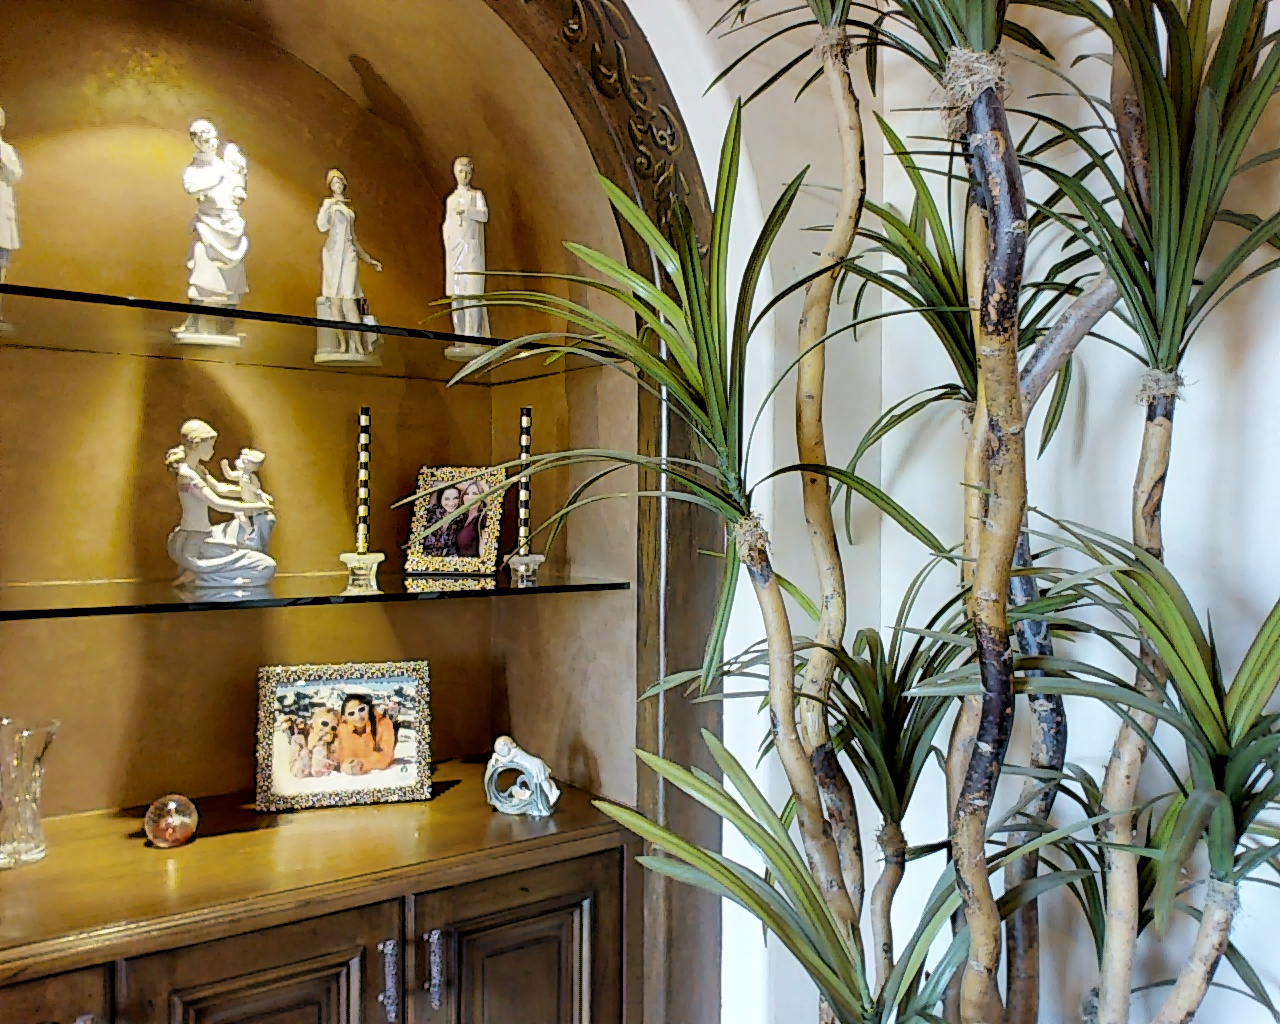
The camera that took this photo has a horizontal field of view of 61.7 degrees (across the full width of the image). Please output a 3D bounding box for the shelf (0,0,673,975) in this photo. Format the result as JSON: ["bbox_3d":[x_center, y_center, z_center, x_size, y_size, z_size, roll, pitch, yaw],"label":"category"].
[{"bbox_3d":[-0.670,-0.190,1.700,1.330,1.460,0.630,0,1,-37],"label":"shelf"}]
